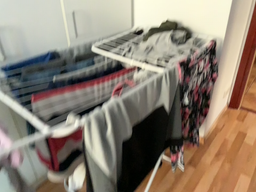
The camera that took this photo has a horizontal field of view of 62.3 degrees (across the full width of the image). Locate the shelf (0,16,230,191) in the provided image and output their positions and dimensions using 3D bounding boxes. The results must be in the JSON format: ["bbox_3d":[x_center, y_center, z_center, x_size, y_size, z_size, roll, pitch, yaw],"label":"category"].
[{"bbox_3d":[-0.020,0.130,1.240,0.690,0.880,1.160,20,37,31],"label":"shelf"}]
